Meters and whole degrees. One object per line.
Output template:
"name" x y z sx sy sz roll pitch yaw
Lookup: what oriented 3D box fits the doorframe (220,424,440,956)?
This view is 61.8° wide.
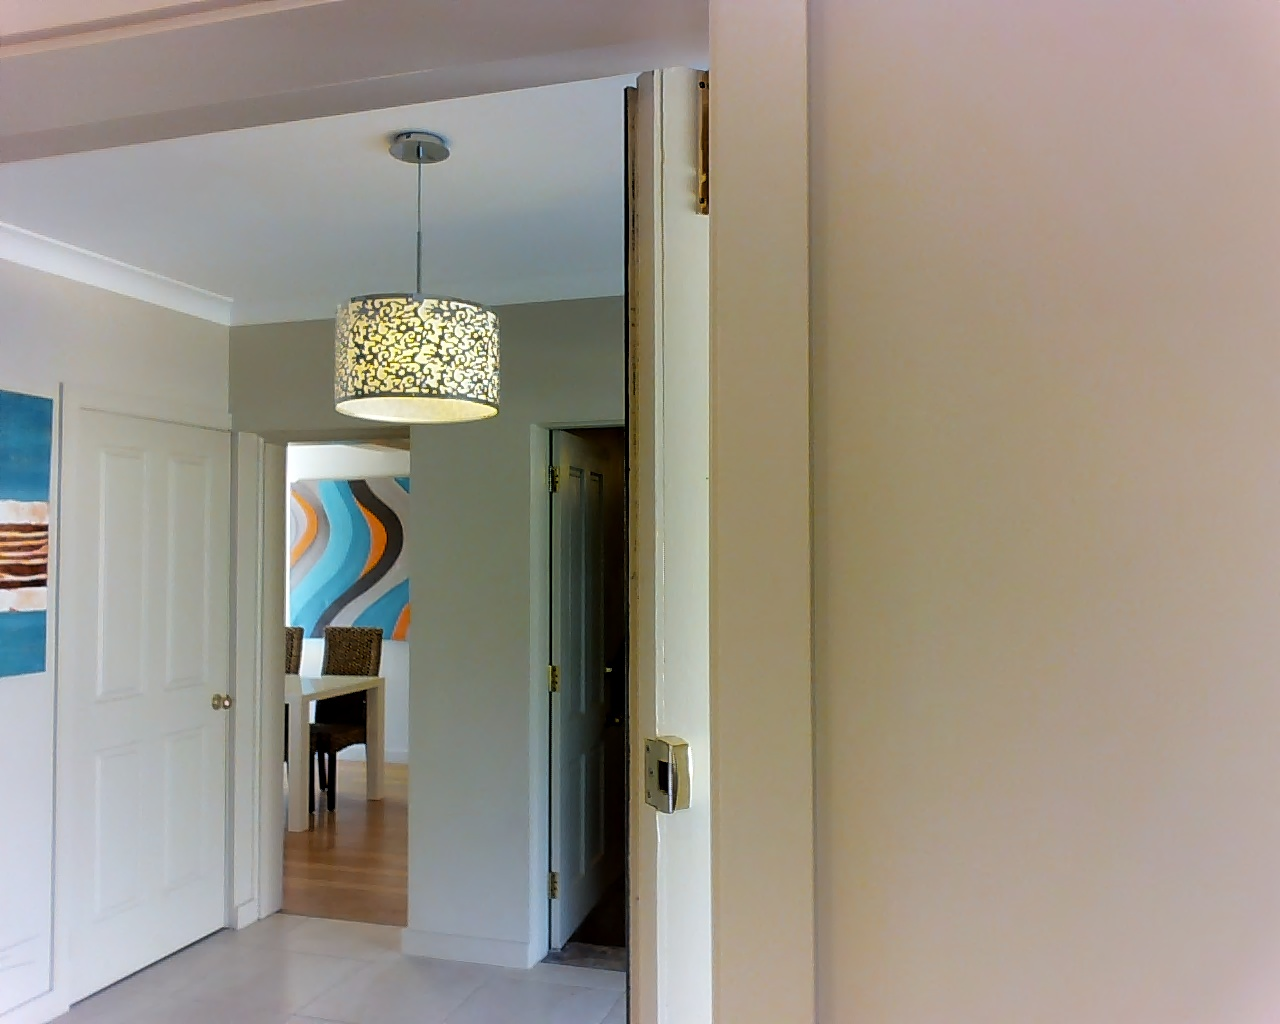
"doorframe" -1.270 0.690 4.390 0.840 2.051 0.250 -1 -2 17
